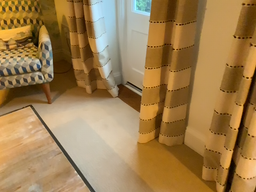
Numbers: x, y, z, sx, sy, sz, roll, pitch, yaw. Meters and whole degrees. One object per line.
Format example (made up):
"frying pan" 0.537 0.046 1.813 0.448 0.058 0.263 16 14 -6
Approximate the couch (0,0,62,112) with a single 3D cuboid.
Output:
"couch" -1.150 -0.460 2.080 0.720 0.850 0.860 -13 34 -18
